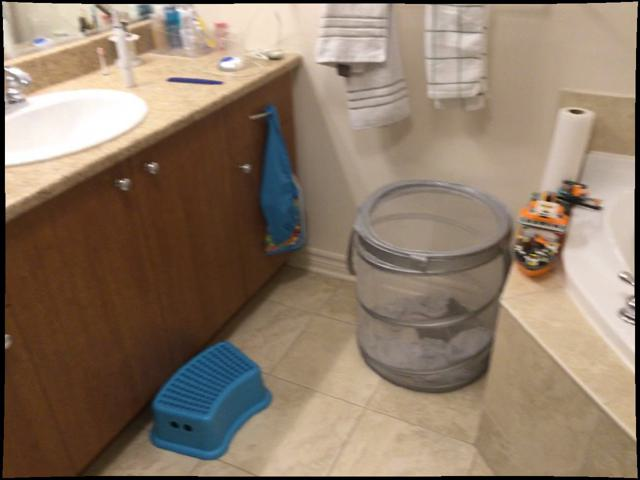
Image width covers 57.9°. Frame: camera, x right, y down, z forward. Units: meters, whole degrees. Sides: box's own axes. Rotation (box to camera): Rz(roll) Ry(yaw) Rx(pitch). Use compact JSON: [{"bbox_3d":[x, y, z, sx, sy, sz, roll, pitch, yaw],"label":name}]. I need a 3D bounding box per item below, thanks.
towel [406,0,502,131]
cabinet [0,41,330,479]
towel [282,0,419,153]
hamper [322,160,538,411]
[{"bbox_3d":[0.370,-0.531,1.610,0.210,0.390,0.170,12,37,24],"label":"towel"},{"bbox_3d":[-0.579,0.090,1.610,0.540,0.811,1.580,12,37,24],"label":"cabinet"},{"bbox_3d":[0.100,-0.551,1.740,0.340,0.500,0.190,12,37,24],"label":"towel"},{"bbox_3d":[0.350,0.110,1.800,0.490,0.490,0.490,12,37,24],"label":"hamper"}]
